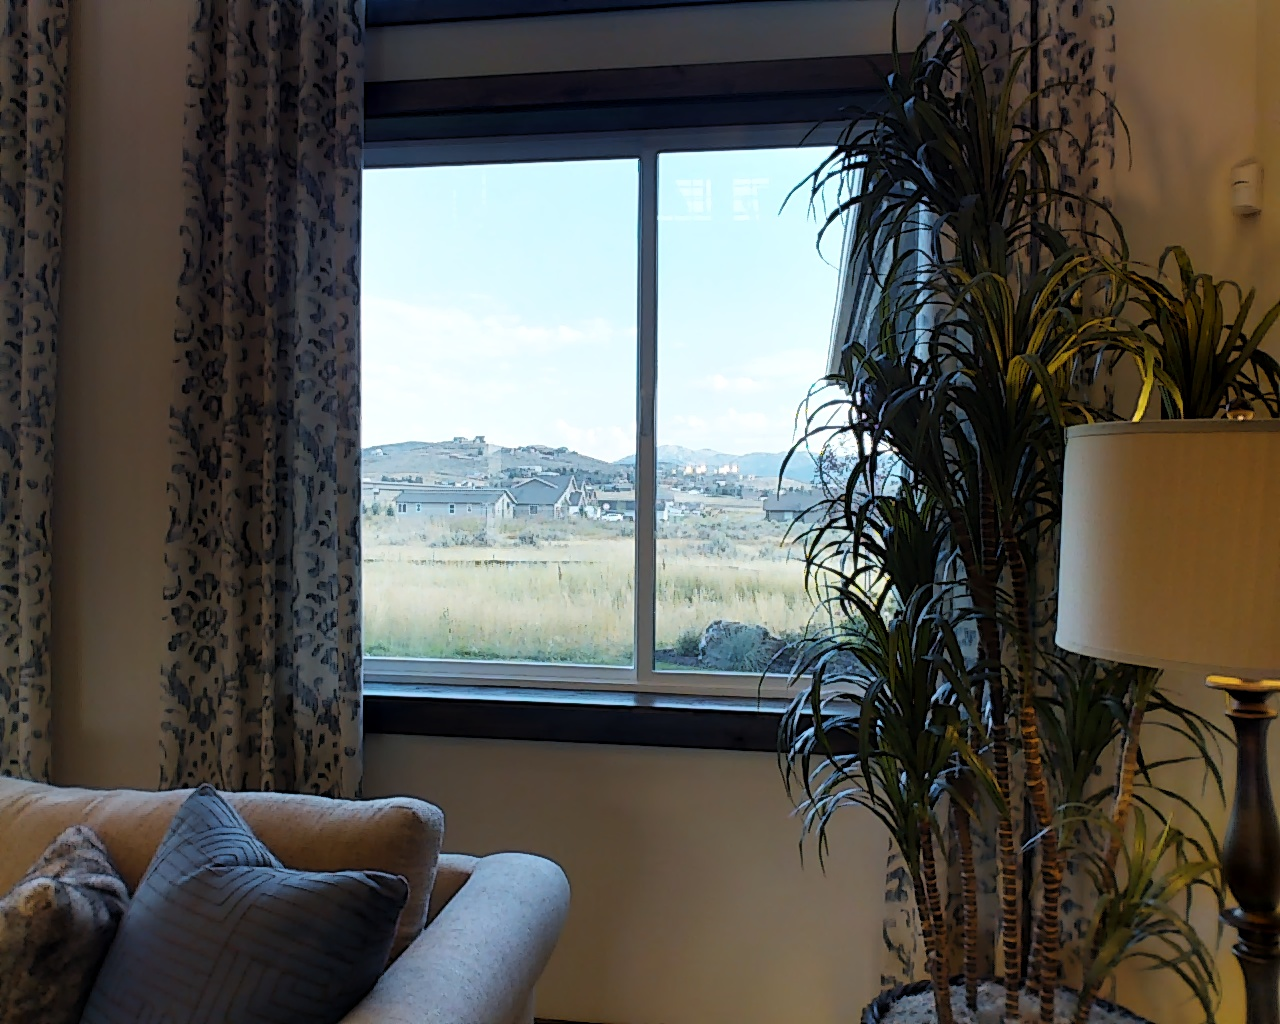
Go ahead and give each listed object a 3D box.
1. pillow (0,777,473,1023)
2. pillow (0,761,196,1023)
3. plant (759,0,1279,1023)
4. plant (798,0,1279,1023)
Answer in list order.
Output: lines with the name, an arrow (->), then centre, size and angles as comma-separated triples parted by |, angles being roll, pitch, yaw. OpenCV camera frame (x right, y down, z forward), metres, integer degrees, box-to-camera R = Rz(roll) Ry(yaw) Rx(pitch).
pillow -> -0.570, 0.640, 1.470 | 0.550, 0.400, 0.380 | 1, 0, 31
pillow -> -0.870, 0.650, 1.510 | 0.230, 0.370, 0.480 | 27, 4, -14
plant -> 0.670, -0.020, 1.820 | 0.840, 1.730, 0.830 | 1, 0, 11
plant -> 0.800, 0.290, 1.870 | 1.010, 2.230, 0.890 | 1, 0, 9
